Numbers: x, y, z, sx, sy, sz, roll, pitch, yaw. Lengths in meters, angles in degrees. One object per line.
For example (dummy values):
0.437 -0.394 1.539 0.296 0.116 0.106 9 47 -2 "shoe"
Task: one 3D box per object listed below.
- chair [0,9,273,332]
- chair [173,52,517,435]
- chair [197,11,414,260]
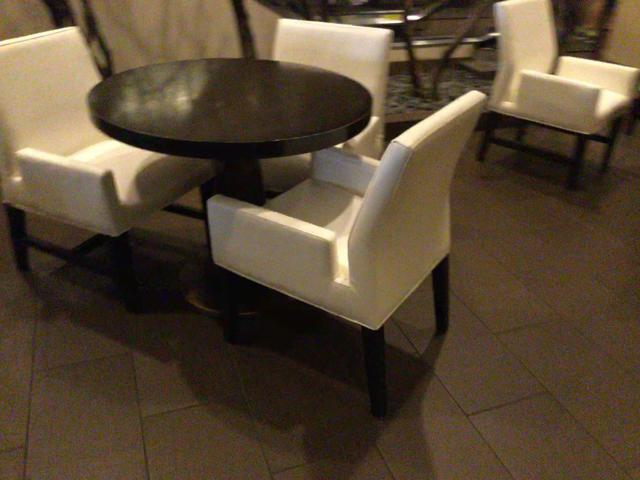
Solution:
-0.730 -0.320 2.160 0.880 0.870 0.700 14 31 19 "chair"
0.070 -0.060 1.800 0.690 0.830 0.670 23 35 32 "chair"
-0.040 -0.470 2.390 0.610 0.770 0.660 14 31 19 "chair"
